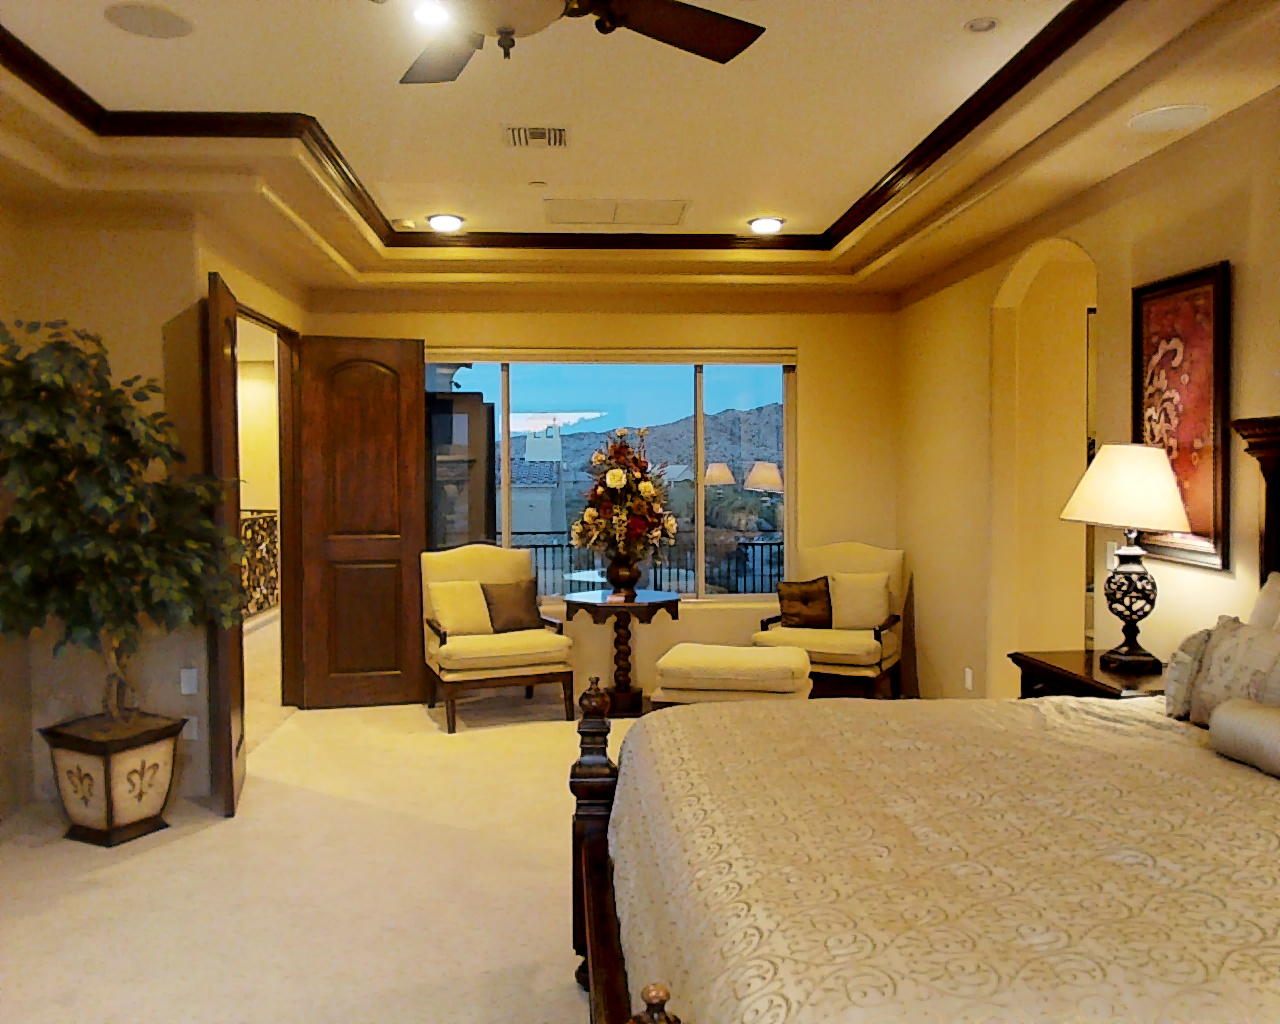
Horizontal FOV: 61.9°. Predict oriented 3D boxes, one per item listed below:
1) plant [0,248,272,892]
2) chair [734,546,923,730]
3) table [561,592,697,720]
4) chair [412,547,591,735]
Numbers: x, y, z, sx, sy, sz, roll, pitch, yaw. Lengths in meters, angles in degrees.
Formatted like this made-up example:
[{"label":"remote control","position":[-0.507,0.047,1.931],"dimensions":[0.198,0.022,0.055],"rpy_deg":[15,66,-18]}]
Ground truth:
[{"label":"plant","position":[-2.260,0.200,4.450],"dimensions":[1.050,2.330,1.190],"rpy_deg":[0,2,-3]},{"label":"chair","position":[1.250,0.770,6.990],"dimensions":[0.940,1.020,0.970],"rpy_deg":[1,2,30]},{"label":"table","position":[-0.090,0.910,6.940],"dimensions":[0.790,0.690,0.740],"rpy_deg":[-1,2,-8]},{"label":"chair","position":[-0.910,0.780,6.870],"dimensions":[0.940,1.040,0.870],"rpy_deg":[-1,2,-22]}]
